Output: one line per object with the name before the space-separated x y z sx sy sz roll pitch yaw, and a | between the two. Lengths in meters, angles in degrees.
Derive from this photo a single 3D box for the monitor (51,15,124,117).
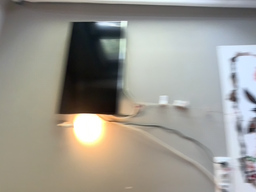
monitor | -0.270 -0.240 1.520 0.050 0.430 0.770 67 -155 -69
